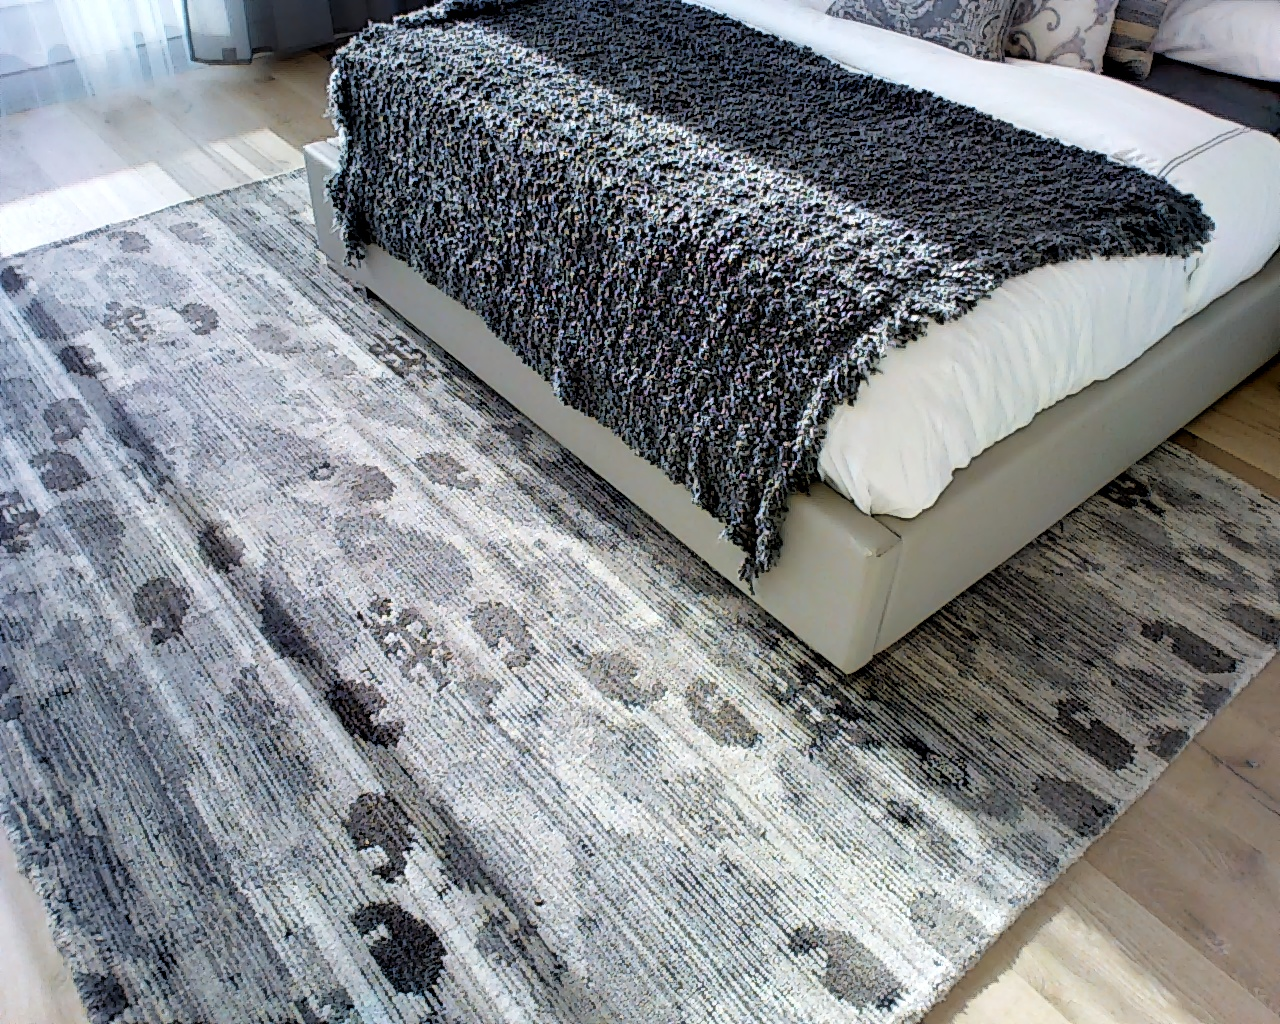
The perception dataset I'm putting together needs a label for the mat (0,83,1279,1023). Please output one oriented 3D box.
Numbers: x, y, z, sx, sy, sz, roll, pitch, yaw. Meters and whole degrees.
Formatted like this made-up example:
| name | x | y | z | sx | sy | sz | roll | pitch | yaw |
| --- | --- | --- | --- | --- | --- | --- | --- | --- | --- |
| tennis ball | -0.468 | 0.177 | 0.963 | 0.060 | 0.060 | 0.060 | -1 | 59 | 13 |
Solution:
| name | x | y | z | sx | sy | sz | roll | pitch | yaw |
| --- | --- | --- | --- | --- | --- | --- | --- | --- | --- |
| mat | -0.370 | -0.210 | 2.550 | 2.500 | 0.110 | 3.170 | -28 | 49 | -29 |
